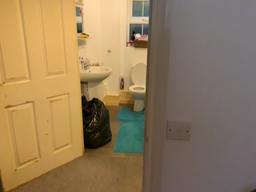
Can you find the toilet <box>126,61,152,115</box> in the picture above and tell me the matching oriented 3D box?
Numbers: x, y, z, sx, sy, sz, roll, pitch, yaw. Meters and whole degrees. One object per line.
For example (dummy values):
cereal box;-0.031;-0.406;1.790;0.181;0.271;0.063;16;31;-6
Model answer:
toilet;0.210;-0.170;3.900;0.420;0.850;0.570;3;17;6
